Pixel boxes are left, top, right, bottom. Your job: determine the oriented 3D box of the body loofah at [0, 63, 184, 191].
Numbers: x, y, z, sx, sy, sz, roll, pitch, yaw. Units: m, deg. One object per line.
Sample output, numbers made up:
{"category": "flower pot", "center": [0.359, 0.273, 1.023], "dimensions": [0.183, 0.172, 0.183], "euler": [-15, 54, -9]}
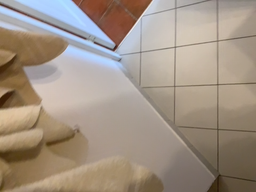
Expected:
{"category": "body loofah", "center": [-0.280, 0.110, 0.210], "dimensions": [0.190, 1.110, 0.300], "euler": [-47, 65, 21]}
